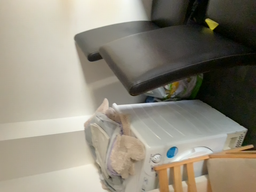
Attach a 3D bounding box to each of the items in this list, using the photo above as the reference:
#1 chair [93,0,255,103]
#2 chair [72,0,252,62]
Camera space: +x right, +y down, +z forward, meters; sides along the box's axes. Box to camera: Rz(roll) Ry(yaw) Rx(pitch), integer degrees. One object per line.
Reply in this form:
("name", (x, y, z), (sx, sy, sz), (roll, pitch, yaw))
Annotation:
("chair", (0.460, -0.410, 1.020), (0.480, 1.080, 0.660), (57, 141, 46))
("chair", (0.240, -0.650, 1.440), (0.480, 1.090, 0.680), (51, 137, 50))
